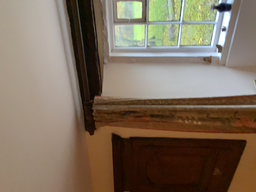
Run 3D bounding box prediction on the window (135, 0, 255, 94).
[{"bbox_3d":[0.500,-0.470,1.640,0.130,0.860,0.960,-89,0,-61],"label":"window"}]
